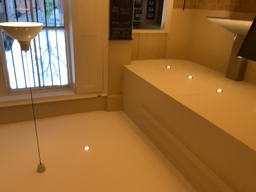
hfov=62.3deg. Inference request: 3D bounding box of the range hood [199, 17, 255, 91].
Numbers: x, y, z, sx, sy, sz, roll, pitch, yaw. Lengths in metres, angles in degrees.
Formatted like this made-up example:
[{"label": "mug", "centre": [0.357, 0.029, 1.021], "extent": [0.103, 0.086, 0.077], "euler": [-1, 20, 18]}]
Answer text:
[{"label": "range hood", "centre": [1.620, -0.670, 3.200], "extent": [0.450, 0.910, 0.830], "euler": [-6, -155, -22]}]
